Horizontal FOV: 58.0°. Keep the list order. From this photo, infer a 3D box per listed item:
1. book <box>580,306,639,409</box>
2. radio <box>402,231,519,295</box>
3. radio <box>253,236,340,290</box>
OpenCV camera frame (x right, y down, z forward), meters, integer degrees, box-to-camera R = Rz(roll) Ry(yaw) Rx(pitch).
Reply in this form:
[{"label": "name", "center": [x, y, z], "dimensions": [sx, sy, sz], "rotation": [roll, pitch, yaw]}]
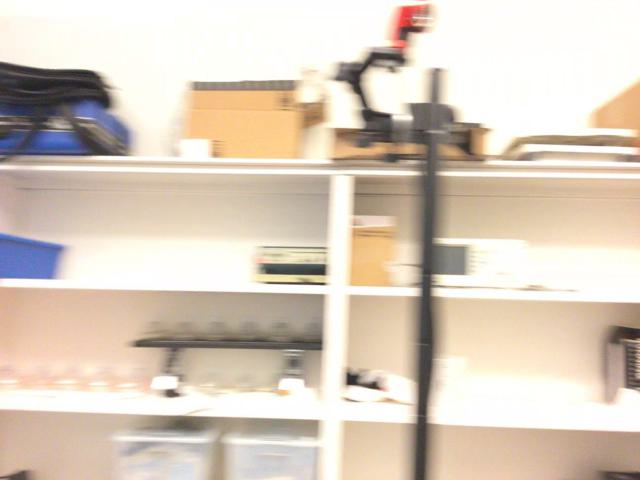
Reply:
[{"label": "book", "center": [1.010, 0.360, 1.810], "dimensions": [0.280, 0.300, 0.200], "rotation": [-2, -9, 5]}, {"label": "radio", "center": [0.410, 0.070, 1.720], "dimensions": [0.320, 0.170, 0.090], "rotation": [-2, -9, 5]}, {"label": "radio", "center": [-0.070, 0.080, 1.880], "dimensions": [0.250, 0.140, 0.250], "rotation": [-2, -9, 5]}]
